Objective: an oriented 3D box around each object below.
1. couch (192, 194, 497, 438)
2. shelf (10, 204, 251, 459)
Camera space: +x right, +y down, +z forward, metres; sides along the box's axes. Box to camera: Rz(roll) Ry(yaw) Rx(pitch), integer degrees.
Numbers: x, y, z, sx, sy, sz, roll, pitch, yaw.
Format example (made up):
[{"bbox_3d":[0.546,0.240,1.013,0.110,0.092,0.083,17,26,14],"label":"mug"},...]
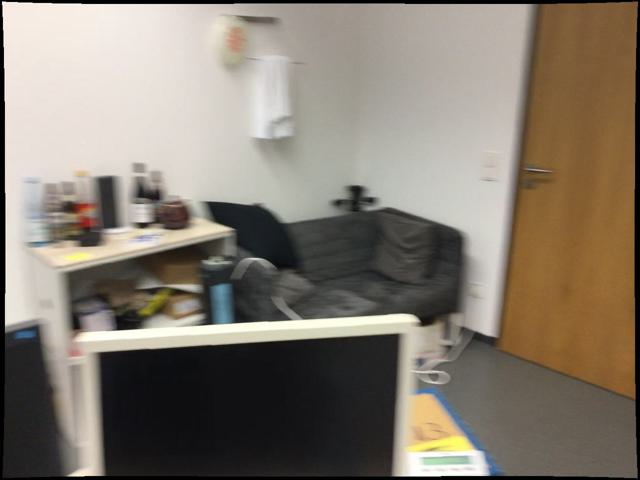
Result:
[{"bbox_3d":[0.160,0.270,3.080,1.319,0.681,0.900,-17,24,-40],"label":"couch"},{"bbox_3d":[-0.819,0.350,2.650,0.850,0.821,0.470,-17,24,-40],"label":"shelf"}]
